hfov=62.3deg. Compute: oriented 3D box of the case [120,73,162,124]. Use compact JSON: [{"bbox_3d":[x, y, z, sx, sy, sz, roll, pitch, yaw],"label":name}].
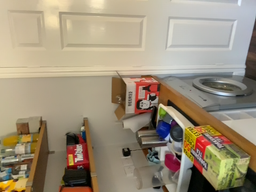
[{"bbox_3d":[0.090,0.010,1.640,0.210,0.250,0.330,-126,35,-64],"label":"case"}]
